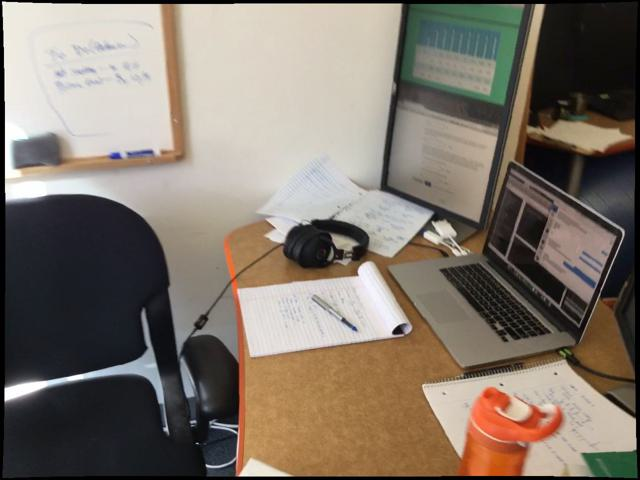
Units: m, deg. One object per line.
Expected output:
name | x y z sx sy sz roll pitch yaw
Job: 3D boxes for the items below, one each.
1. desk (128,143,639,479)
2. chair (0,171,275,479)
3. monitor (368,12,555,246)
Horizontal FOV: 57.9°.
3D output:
desk | 0.180 0.501 1.190 0.989 0.831 1.530 -7 32 -15
chair | -0.460 0.250 1.140 0.629 0.530 0.590 -7 31 -15
monitor | 0.320 -0.280 1.410 0.200 0.460 0.320 -22 38 -36
